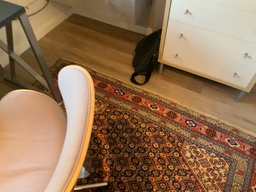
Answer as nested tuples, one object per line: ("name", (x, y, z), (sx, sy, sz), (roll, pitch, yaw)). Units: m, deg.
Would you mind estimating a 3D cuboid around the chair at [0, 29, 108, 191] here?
("chair", (-0.410, 0.290, 0.840), (0.610, 0.850, 0.600), (-3, 51, -3))
